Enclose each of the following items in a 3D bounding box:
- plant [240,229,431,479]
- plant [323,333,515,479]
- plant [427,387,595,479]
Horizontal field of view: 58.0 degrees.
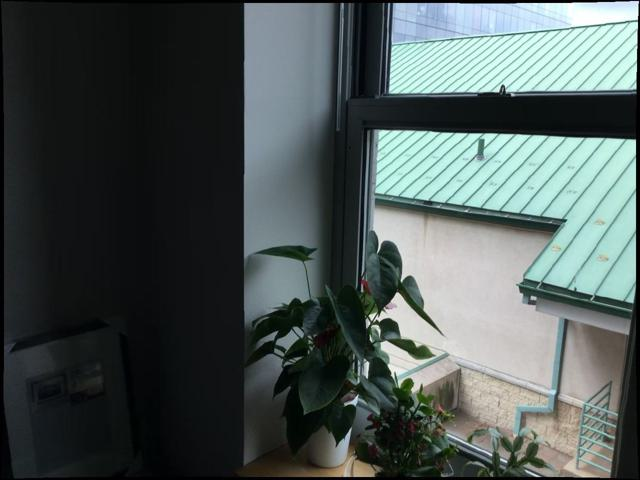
[{"bbox_3d":[0.030,0.251,1.320,0.300,0.481,0.230,15,14,30],"label":"plant"},{"bbox_3d":[0.180,0.401,1.090,0.250,0.341,0.230,15,14,30],"label":"plant"},{"bbox_3d":[0.329,0.451,1.030,0.220,0.251,0.220,15,14,30],"label":"plant"}]
